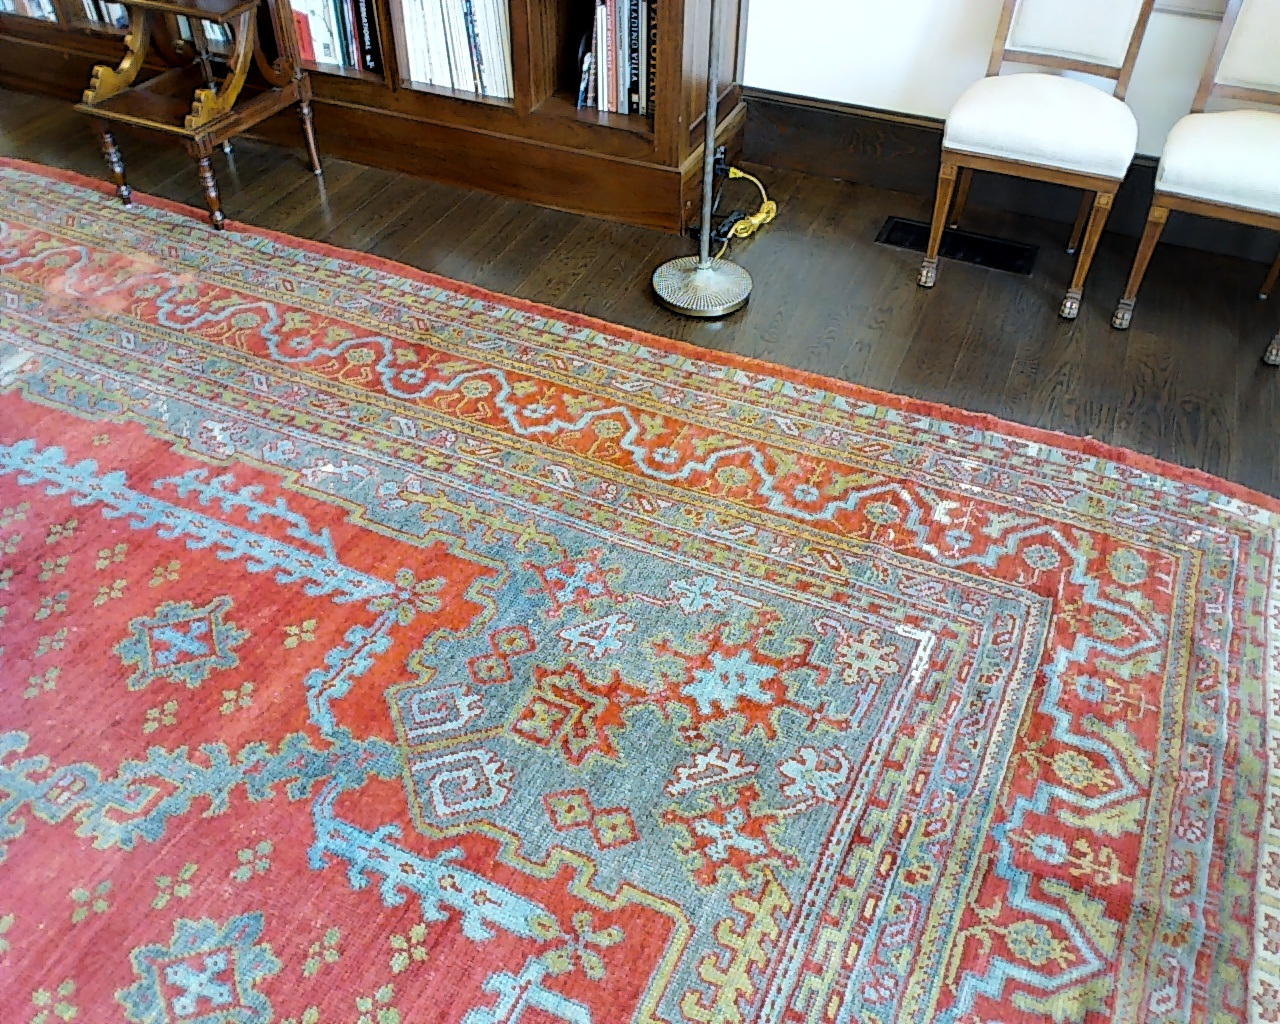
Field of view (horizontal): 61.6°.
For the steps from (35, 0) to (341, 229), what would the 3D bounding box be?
[{"bbox_3d":[-1.260,-1.320,3.020,0.450,0.790,0.540,17,45,17],"label":"steps"}]
